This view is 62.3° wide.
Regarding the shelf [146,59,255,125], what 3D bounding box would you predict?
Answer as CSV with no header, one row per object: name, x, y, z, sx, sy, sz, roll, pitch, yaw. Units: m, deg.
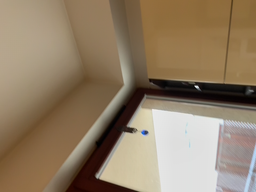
shelf,0.550,-0.040,1.250,0.290,0.820,0.230,-54,-37,-48
